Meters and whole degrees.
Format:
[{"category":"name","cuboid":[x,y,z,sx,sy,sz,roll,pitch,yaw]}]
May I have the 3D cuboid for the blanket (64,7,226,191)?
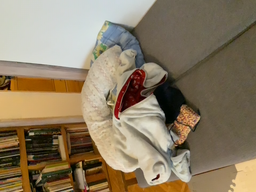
[{"category":"blanket","cuboid":[-0.010,0.080,1.210,0.660,0.370,0.800,-44,56,43]}]
